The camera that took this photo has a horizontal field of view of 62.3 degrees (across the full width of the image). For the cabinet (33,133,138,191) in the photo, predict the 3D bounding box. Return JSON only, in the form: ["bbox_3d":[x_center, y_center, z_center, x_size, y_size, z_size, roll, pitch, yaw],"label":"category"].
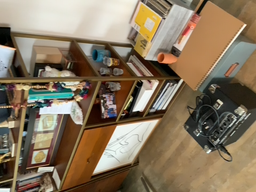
[{"bbox_3d":[-0.420,0.770,2.100,0.420,0.820,0.520,53,132,34],"label":"cabinet"}]
